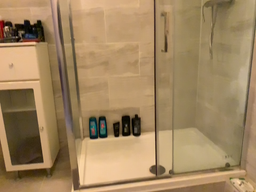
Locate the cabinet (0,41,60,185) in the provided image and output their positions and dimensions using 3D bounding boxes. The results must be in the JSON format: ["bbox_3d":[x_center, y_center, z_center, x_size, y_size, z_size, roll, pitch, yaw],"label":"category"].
[{"bbox_3d":[-0.840,0.120,1.740,0.360,1.100,0.350,-4,15,-7],"label":"cabinet"}]
